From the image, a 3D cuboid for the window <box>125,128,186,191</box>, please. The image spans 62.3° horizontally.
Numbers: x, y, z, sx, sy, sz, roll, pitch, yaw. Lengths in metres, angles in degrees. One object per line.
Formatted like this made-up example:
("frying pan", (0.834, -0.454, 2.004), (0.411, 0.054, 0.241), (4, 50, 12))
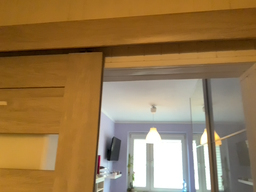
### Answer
("window", (0.690, 1.670, 5.450), (1.480, 1.650, 0.160), (-1, -16, 9))
